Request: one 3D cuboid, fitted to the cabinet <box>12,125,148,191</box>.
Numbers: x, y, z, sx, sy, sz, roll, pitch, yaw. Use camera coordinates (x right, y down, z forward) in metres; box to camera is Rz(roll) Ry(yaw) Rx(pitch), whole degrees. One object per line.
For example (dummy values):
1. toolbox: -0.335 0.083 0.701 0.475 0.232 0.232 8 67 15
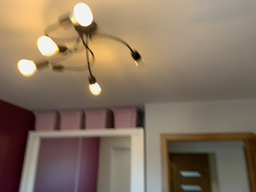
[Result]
1. cabinet: -0.570 1.470 2.450 1.560 2.170 0.430 -3 -19 12
